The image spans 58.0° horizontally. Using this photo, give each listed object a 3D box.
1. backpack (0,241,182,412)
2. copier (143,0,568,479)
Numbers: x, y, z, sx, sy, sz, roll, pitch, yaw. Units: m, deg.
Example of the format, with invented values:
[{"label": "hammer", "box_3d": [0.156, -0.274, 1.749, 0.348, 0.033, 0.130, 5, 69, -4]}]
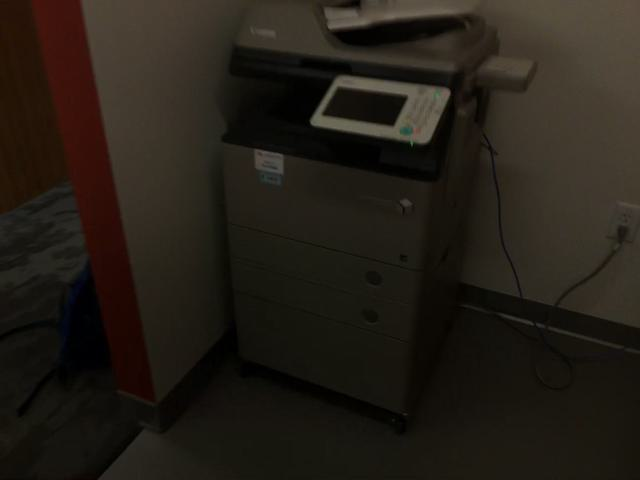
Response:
[{"label": "backpack", "box_3d": [-0.680, 0.240, 1.710, 0.440, 0.300, 0.250, 15, 34, 22]}, {"label": "copier", "box_3d": [0.130, -0.100, 1.570, 0.730, 1.050, 0.730, 15, 34, 22]}]
